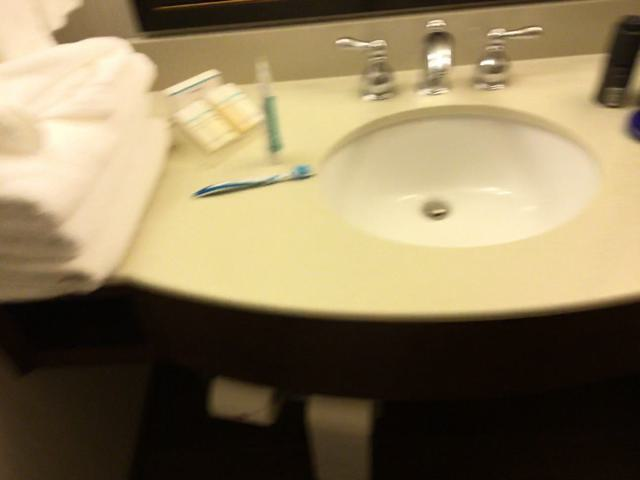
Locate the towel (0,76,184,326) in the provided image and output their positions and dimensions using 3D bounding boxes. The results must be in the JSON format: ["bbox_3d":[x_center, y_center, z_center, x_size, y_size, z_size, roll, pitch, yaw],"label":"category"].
[{"bbox_3d":[-0.390,-0.070,0.860,0.290,0.160,0.360,-4,44,2],"label":"towel"}]
